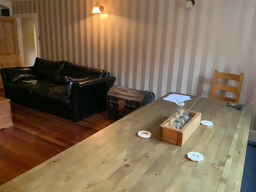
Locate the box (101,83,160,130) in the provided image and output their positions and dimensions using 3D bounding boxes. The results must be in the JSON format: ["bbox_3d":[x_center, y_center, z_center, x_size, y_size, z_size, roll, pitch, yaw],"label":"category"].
[{"bbox_3d":[0.050,0.150,3.940,0.790,0.560,0.740,12,19,31],"label":"box"}]
